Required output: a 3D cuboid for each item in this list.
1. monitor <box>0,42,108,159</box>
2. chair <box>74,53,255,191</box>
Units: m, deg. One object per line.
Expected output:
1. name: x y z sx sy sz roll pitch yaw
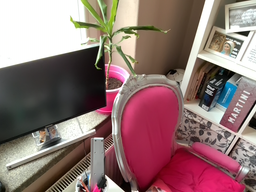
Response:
1. monitor: -0.330 0.030 0.830 0.530 0.400 0.050 -18 46 -23
2. chair: 0.250 0.460 1.170 0.810 1.000 0.590 33 49 28
